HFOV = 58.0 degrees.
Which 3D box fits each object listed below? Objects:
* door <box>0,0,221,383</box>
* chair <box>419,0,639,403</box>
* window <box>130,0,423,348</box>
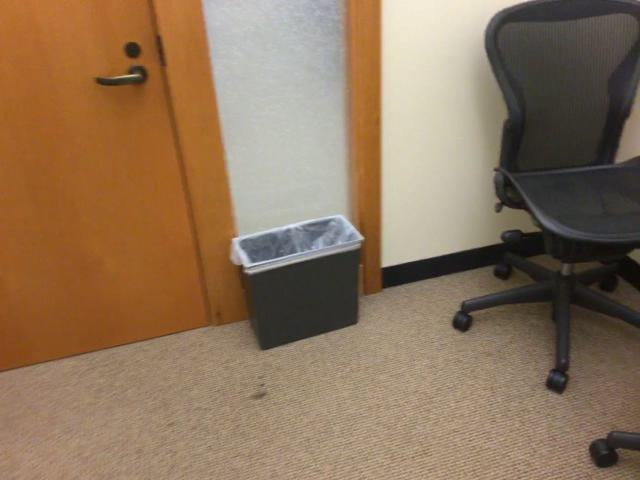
[{"bbox_3d":[-0.910,-0.190,1.700,1.030,1.410,0.080,-11,30,-12],"label":"door"},{"bbox_3d":[0.790,-0.200,1.800,0.730,1.060,0.710,-9,30,-8],"label":"chair"},{"bbox_3d":[-0.100,-0.330,1.910,0.820,1.340,0.240,-11,30,-12],"label":"window"}]
